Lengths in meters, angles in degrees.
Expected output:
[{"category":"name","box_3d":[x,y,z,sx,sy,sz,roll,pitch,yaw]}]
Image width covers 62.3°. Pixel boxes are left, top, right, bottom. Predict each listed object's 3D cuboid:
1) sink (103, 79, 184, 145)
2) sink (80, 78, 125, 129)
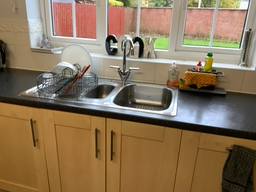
[{"category":"sink","box_3d":[0.130,0.070,1.420,0.450,0.190,0.490,8,22,12]},{"category":"sink","box_3d":[-0.160,0.030,1.490,0.170,0.190,0.420,8,22,12]}]
